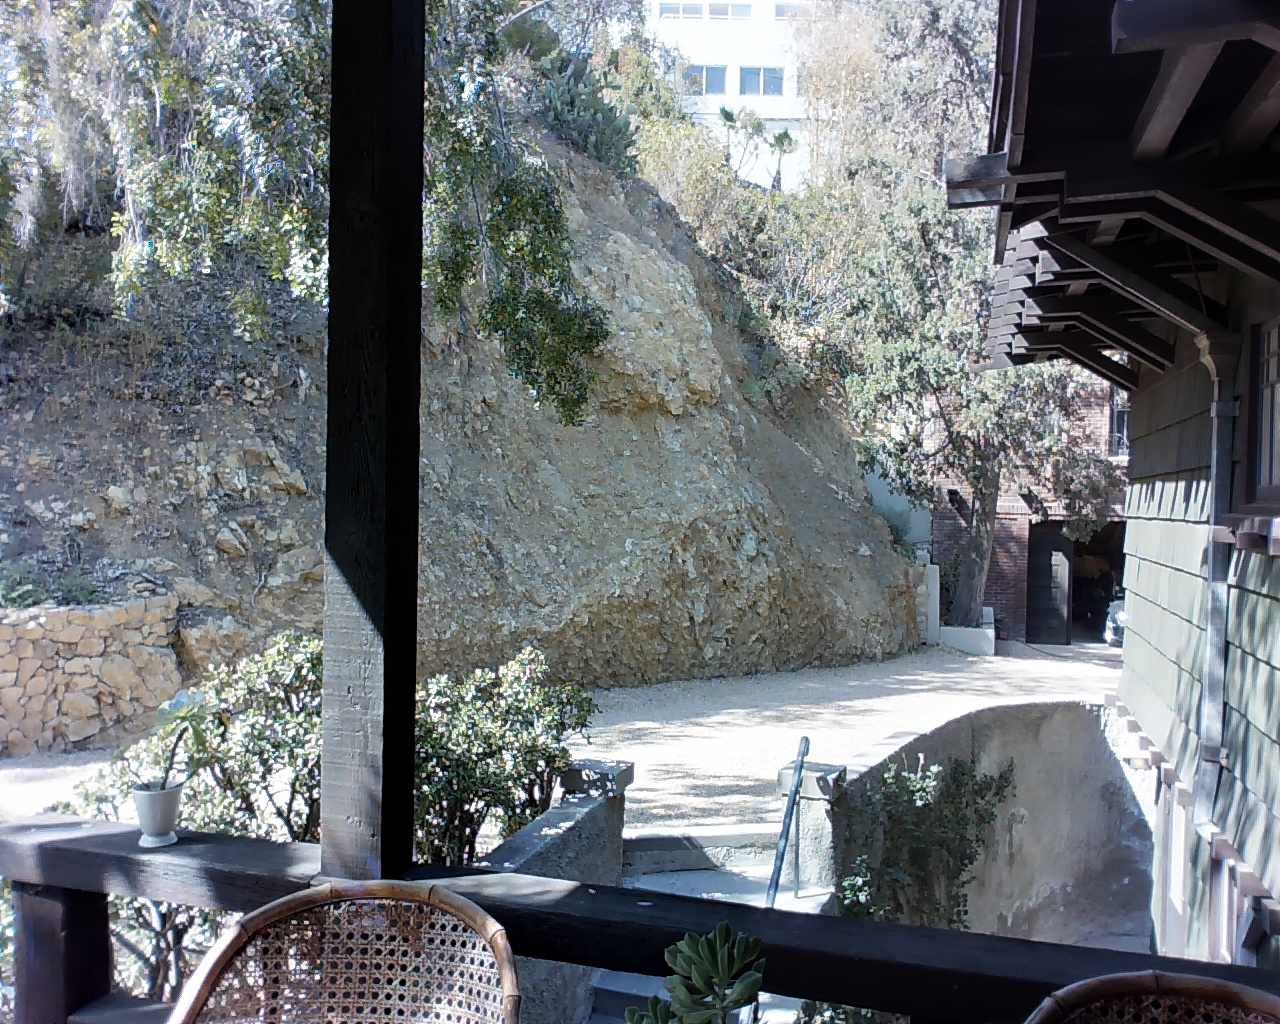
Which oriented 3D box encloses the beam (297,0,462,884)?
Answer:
[{"bbox_3d":[-0.530,-0.320,2.210,0.260,2.080,0.180,1,0,17],"label":"beam"}]
